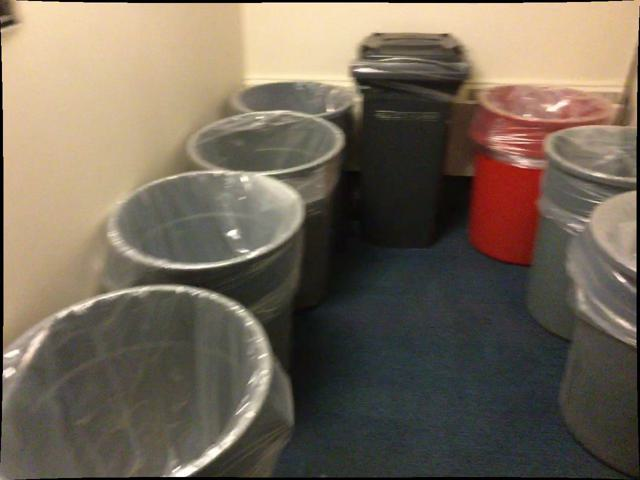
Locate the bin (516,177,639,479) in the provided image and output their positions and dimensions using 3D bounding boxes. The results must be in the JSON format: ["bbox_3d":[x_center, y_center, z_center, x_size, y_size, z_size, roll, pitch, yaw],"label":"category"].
[{"bbox_3d":[0.979,0.260,1.670,0.580,0.670,0.550,4,33,6],"label":"bin"}]

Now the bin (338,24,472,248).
[{"bbox_3d":[0.370,-0.490,2.700,0.510,0.901,0.490,4,31,6],"label":"bin"}]

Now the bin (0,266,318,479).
[{"bbox_3d":[-0.360,0.520,1.220,0.639,0.670,0.600,4,31,6],"label":"bin"}]

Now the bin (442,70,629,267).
[{"bbox_3d":[0.929,-0.350,2.670,0.599,0.710,0.580,3,31,6],"label":"bin"}]

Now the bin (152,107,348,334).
[{"bbox_3d":[-0.220,-0.100,2.280,0.599,0.670,0.590,4,31,6],"label":"bin"}]

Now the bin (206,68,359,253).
[{"bbox_3d":[-0.140,-0.400,2.760,0.590,0.680,0.600,4,31,6],"label":"bin"}]

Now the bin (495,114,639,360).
[{"bbox_3d":[1.049,-0.030,2.150,0.580,0.680,0.620,3,31,6],"label":"bin"}]

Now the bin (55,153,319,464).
[{"bbox_3d":[-0.320,0.180,1.790,0.560,0.690,0.620,4,31,6],"label":"bin"}]

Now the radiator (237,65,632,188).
[{"bbox_3d":[0.520,-0.580,2.920,1.848,0.520,0.160,4,31,6],"label":"radiator"}]
